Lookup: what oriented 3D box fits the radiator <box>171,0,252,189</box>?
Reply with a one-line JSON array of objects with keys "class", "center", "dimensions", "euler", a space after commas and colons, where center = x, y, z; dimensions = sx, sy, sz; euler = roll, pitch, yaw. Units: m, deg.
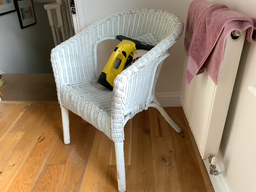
[{"class": "radiator", "center": [0.340, -0.060, 1.100], "dimensions": [0.120, 0.780, 0.660], "euler": [1, 31, 5]}]

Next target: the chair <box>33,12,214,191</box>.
[{"class": "chair", "center": [-0.020, -0.040, 1.220], "dimensions": [0.640, 0.690, 0.620], "euler": [-27, 39, -35]}]
